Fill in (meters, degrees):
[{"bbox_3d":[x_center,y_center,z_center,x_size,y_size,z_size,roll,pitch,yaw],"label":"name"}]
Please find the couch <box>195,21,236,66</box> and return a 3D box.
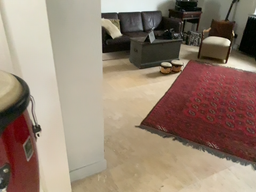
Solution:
[{"bbox_3d":[1.780,-1.090,4.320,0.570,0.680,0.670,16,31,20],"label":"couch"}]
